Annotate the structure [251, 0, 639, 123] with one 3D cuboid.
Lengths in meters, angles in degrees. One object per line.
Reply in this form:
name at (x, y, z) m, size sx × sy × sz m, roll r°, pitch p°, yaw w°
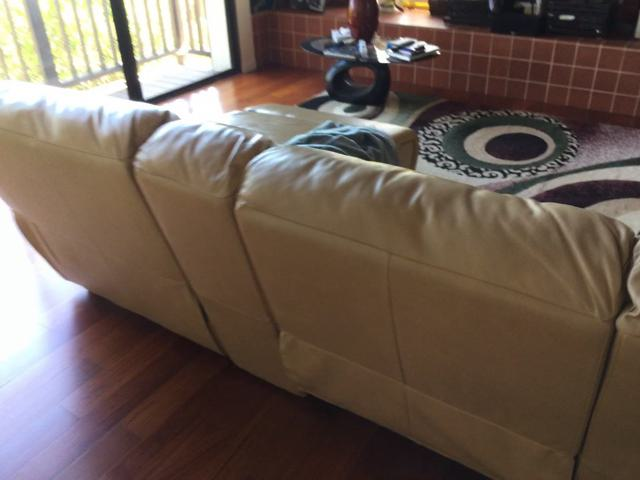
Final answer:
structure at (1.530, -1.530, 4.450) m, size 4.550 × 0.710 × 0.850 m, roll 17°, pitch 38°, yaw 30°
